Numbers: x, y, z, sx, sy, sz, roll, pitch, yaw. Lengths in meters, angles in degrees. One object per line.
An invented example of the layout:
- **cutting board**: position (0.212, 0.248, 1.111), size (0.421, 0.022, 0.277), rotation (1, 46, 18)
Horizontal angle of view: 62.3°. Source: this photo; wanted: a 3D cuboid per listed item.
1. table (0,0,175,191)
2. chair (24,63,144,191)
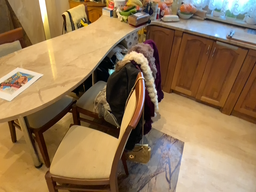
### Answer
- **table**: position (-0.320, -0.200, 2.150), size (0.660, 0.870, 2.390), rotation (22, 42, 20)
- **chair**: position (-0.220, 0.340, 1.410), size (0.520, 0.970, 0.410), rotation (8, 39, 4)
